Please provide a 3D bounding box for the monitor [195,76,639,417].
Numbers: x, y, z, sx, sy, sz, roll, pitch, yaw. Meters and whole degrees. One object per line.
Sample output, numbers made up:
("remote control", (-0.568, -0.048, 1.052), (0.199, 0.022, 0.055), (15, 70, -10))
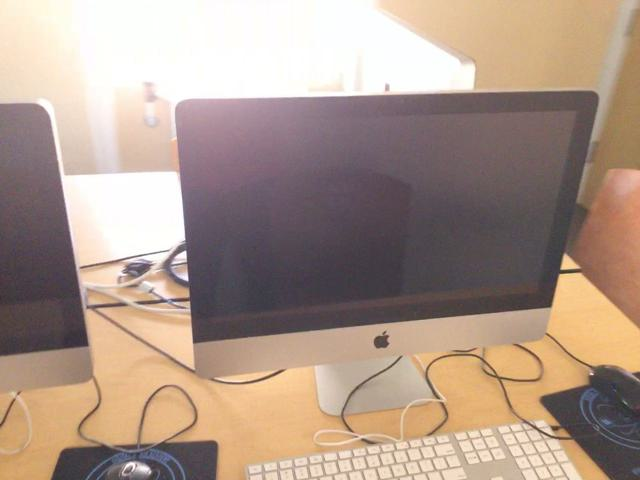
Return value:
("monitor", (0.110, 0.000, 0.770), (0.510, 0.390, 0.150), (-5, 30, -14))
